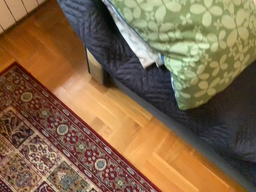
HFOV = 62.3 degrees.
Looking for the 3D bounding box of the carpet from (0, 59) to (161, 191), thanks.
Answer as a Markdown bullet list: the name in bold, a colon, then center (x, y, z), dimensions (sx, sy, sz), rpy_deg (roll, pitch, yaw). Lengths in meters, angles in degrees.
- **carpet**: center (-0.210, 0.640, 0.960), dimensions (1.840, 0.020, 0.760), rpy_deg (39, 70, 7)
